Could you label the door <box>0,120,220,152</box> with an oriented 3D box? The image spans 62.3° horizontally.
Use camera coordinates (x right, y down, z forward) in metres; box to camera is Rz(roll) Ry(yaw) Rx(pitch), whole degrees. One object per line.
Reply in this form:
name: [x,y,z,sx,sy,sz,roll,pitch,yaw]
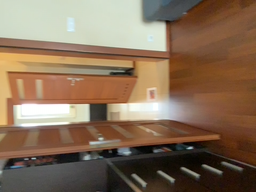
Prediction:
door: [-0.290,0.340,2.060,0.970,2.080,0.090,173,97,-69]
